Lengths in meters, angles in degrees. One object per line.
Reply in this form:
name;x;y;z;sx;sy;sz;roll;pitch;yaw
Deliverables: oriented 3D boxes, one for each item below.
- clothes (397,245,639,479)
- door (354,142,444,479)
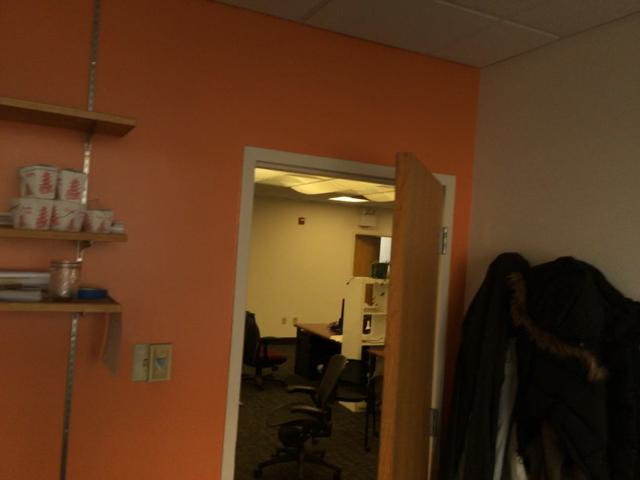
clothes;0.670;0.770;2.120;0.270;1.480;0.900;3;-3;-30
door;0.290;0.750;1.990;0.180;2.020;0.780;1;-3;16
